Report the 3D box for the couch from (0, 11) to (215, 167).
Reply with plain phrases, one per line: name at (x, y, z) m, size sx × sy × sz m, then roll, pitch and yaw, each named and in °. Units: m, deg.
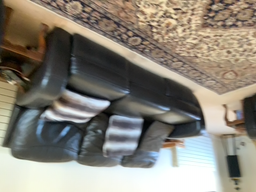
couch at (-0.150, 0.250, 2.480) m, size 2.150 × 0.960 × 1.200 m, roll 19°, pitch 151°, yaw -39°
